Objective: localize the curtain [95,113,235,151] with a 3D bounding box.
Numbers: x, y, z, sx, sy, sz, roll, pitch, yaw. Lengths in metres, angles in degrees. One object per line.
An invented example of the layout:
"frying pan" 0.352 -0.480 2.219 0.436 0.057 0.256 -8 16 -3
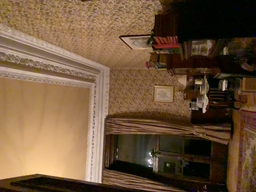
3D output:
"curtain" 0.780 0.800 5.090 0.580 3.130 0.500 -10 -77 -73
